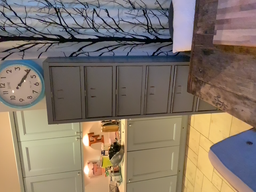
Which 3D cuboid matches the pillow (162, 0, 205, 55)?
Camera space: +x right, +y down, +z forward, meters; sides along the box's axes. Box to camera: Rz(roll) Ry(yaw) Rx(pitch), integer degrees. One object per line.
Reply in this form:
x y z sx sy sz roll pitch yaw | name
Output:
0.320 -0.460 1.250 0.120 0.210 0.420 -9 -74 -32 | pillow
